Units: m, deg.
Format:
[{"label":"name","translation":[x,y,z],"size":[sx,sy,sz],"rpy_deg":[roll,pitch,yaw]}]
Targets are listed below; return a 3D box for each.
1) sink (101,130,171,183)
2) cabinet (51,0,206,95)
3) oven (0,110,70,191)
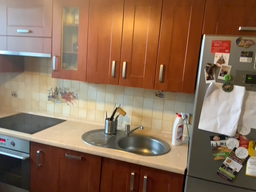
[{"label":"sink","translation":[0.090,0.470,1.770],"size":[0.460,0.180,0.460],"rpy_deg":[8,9,17]},{"label":"cabinet","translation":[-0.030,-0.470,1.840],"size":[1.240,0.740,0.330],"rpy_deg":[8,9,17]},{"label":"oven","translation":[-1.040,0.560,2.160],"size":[0.610,0.640,0.590],"rpy_deg":[8,9,17]}]
